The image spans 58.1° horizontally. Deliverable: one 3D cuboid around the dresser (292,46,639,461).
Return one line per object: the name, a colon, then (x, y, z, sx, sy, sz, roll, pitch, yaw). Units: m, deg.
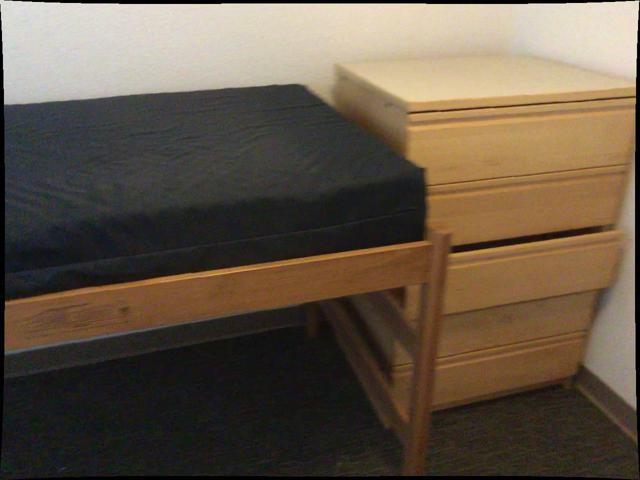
dresser: (0.459, -0.030, 2.110, 0.869, 1.192, 0.810, -5, 25, -20)
